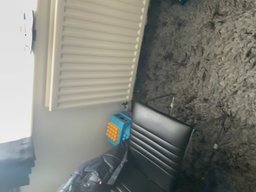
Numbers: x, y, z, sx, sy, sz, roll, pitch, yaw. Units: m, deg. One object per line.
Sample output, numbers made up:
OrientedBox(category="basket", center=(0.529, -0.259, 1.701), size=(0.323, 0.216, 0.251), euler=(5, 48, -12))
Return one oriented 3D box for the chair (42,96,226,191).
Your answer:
OrientedBox(category="chair", center=(0.090, 0.330, 1.200), size=(0.390, 0.980, 0.500), euler=(24, 111, 43))
